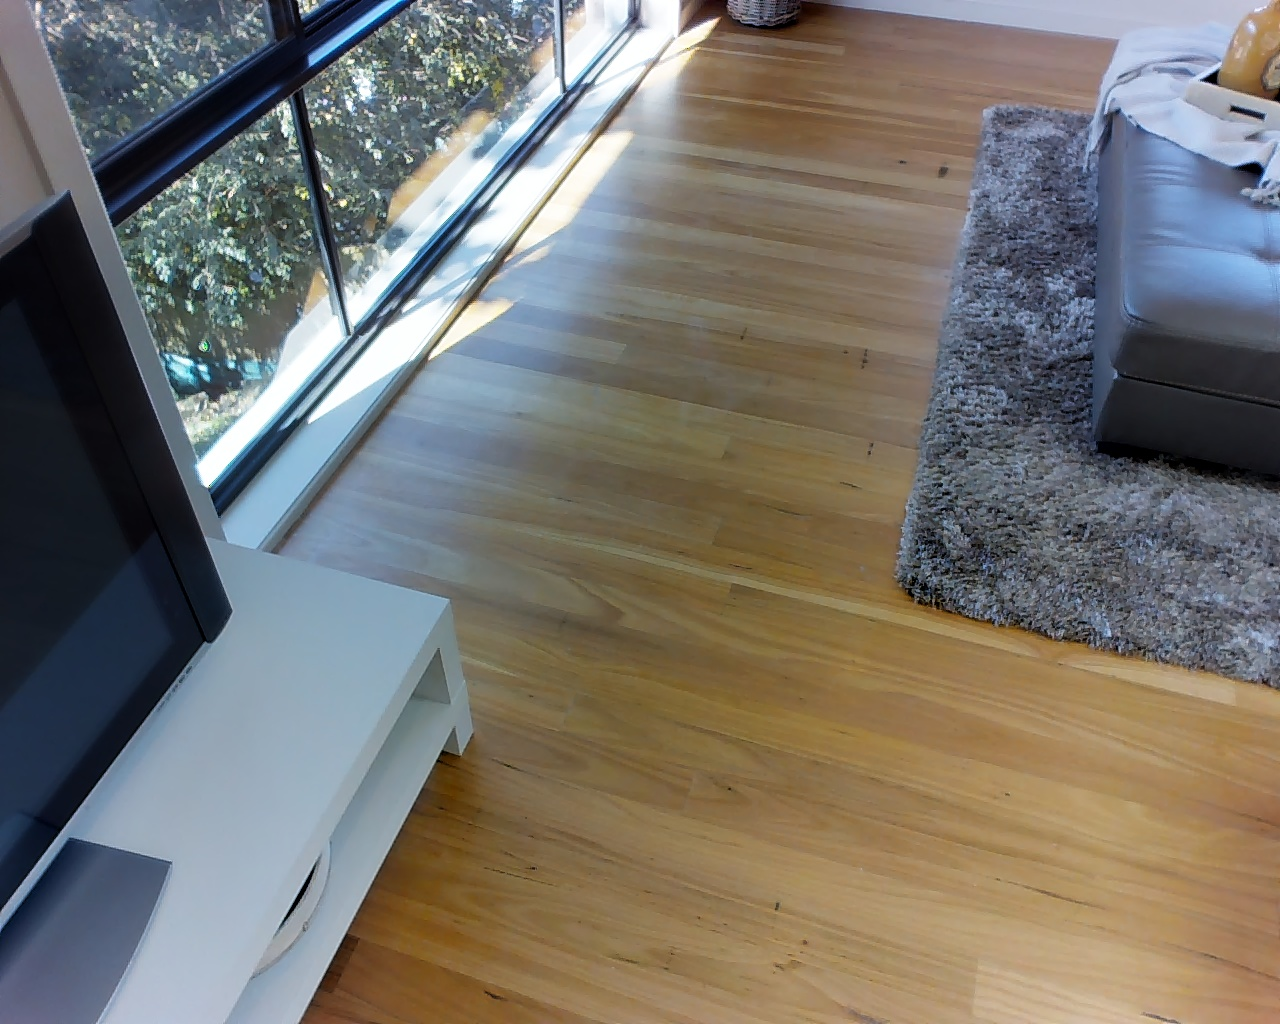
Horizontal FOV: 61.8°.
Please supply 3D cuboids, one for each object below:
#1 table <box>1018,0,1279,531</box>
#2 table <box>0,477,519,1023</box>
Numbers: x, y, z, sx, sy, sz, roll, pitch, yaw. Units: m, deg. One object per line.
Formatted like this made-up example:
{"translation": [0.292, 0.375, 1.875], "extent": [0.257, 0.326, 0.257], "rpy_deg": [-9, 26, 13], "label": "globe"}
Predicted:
{"translation": [1.520, -0.690, 2.580], "extent": [0.960, 0.480, 1.660], "rpy_deg": [13, 46, 12], "label": "table"}
{"translation": [-0.750, 0.690, 1.270], "extent": [0.620, 0.410, 1.610], "rpy_deg": [13, 45, 12], "label": "table"}
